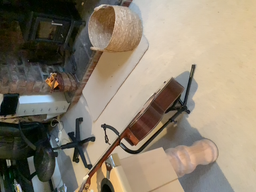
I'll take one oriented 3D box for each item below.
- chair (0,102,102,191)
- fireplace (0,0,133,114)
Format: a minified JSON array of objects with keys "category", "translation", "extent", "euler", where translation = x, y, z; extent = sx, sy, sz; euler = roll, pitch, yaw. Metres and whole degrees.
[{"category":"chair","translation":[-1.060,0.620,2.440],"extent":[0.770,1.150,0.670],"euler":[46,127,38]},{"category":"fireplace","translation":[-1.010,-0.710,2.040],"extent":[1.750,1.380,0.900],"euler":[-52,55,40]}]
